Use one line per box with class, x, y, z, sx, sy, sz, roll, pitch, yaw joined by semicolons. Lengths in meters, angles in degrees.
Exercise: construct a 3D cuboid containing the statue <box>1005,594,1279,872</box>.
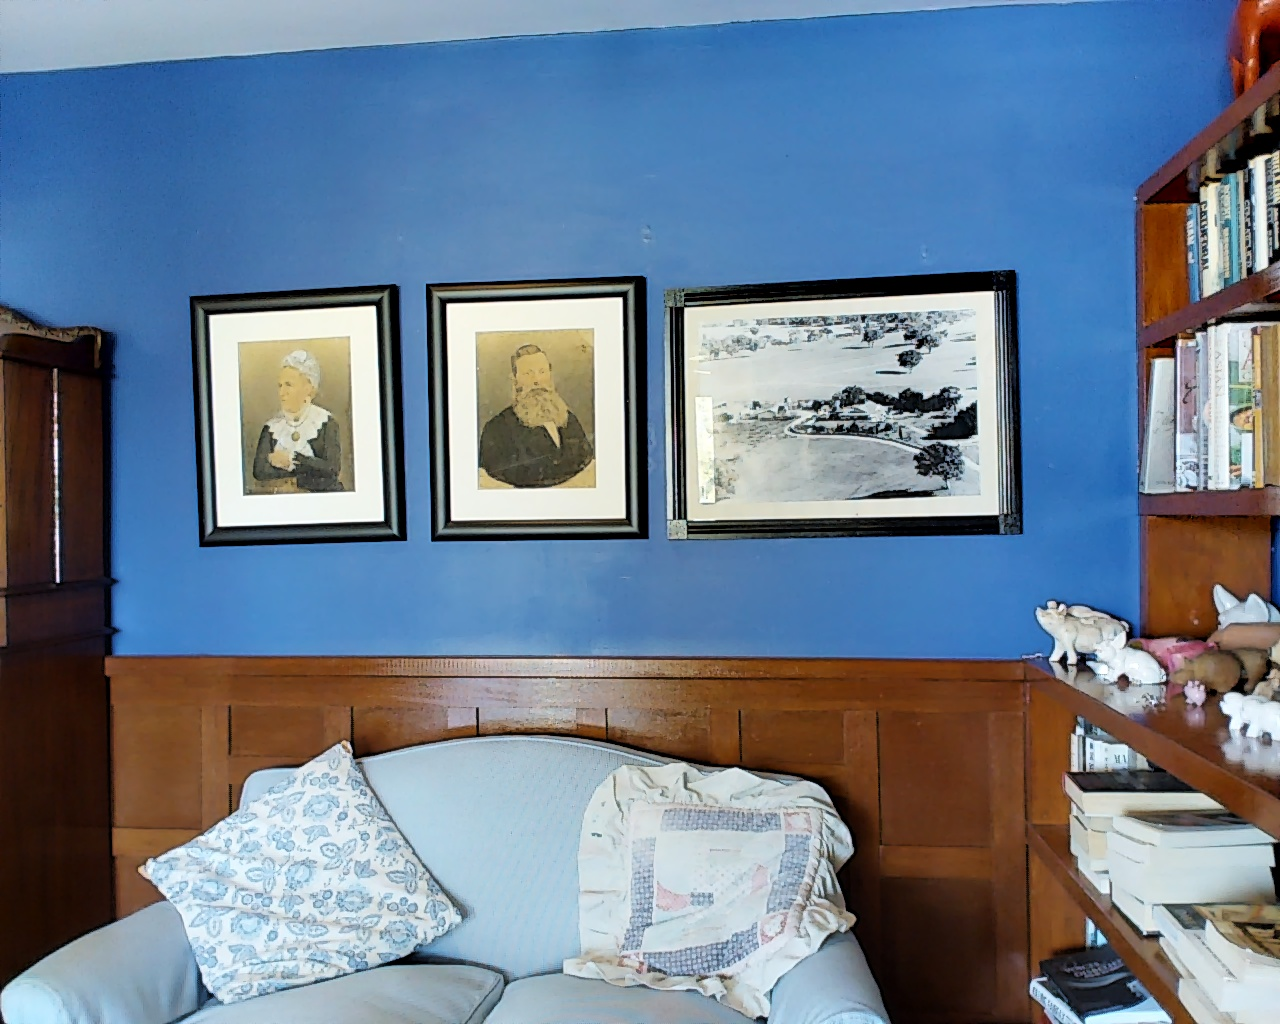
statue;0.950;0.250;1.540;0.560;0.160;1.310;-1;0;8
